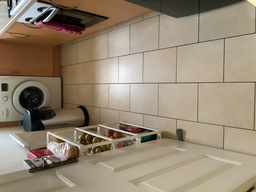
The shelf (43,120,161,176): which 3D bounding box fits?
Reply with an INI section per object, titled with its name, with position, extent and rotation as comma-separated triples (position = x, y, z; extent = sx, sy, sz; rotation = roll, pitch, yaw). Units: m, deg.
[shelf]
position = -0.210, 0.360, 1.730
extent = 0.620, 0.740, 0.190
rotation = 3, 94, 49
